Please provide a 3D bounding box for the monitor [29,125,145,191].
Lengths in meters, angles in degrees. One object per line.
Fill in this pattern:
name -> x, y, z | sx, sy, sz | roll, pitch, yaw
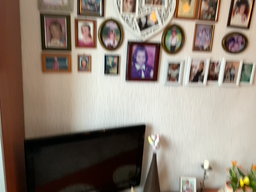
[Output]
monitor -> -0.250, 0.530, 1.480 | 0.770, 0.580, 0.060 | -4, 16, -28

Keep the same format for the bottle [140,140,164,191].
bottle -> 0.180, 0.580, 1.640 | 0.120, 0.460, 0.100 | 0, 15, -16
